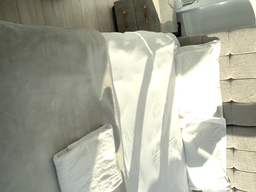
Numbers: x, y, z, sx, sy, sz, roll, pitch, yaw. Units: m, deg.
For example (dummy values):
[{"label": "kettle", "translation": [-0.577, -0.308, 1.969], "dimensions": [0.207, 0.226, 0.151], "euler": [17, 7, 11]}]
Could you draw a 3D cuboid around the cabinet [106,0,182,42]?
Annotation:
[{"label": "cabinet", "translation": [0.190, -0.810, 2.180], "dimensions": [0.560, 0.540, 0.410], "euler": [-23, 109, -55]}]

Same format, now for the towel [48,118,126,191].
[{"label": "towel", "translation": [-0.170, 0.340, 1.040], "dimensions": [0.370, 0.090, 0.360], "euler": [-25, 111, -54]}]

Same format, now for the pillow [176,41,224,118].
[{"label": "pillow", "translation": [0.700, -0.160, 2.100], "dimensions": [0.150, 0.410, 0.720], "euler": [-70, 156, -75]}]

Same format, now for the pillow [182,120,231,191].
[{"label": "pillow", "translation": [0.820, 0.680, 2.220], "dimensions": [0.100, 0.450, 0.860], "euler": [-53, 138, -72]}]
